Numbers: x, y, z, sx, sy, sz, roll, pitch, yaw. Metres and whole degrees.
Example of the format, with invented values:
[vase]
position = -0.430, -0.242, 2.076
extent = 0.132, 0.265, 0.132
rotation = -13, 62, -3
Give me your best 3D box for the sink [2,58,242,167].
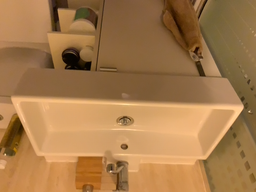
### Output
[sink]
position = -0.020, 0.090, 0.730
extent = 0.610, 0.130, 0.410
rotation = 2, 136, -4
